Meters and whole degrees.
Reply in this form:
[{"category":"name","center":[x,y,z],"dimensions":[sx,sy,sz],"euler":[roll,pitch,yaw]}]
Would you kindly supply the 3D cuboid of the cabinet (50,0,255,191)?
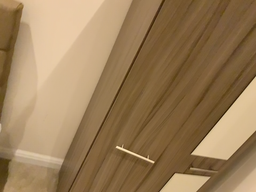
[{"category":"cabinet","center":[0.210,0.170,1.270],"dimensions":[0.880,1.880,0.580],"euler":[18,29,-20]}]
